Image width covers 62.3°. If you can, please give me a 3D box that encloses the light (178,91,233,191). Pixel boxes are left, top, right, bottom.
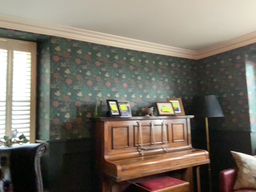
[{"bbox_3d":[1.140,0.750,3.180,0.420,1.600,0.570,1,-5,-26],"label":"light"}]
